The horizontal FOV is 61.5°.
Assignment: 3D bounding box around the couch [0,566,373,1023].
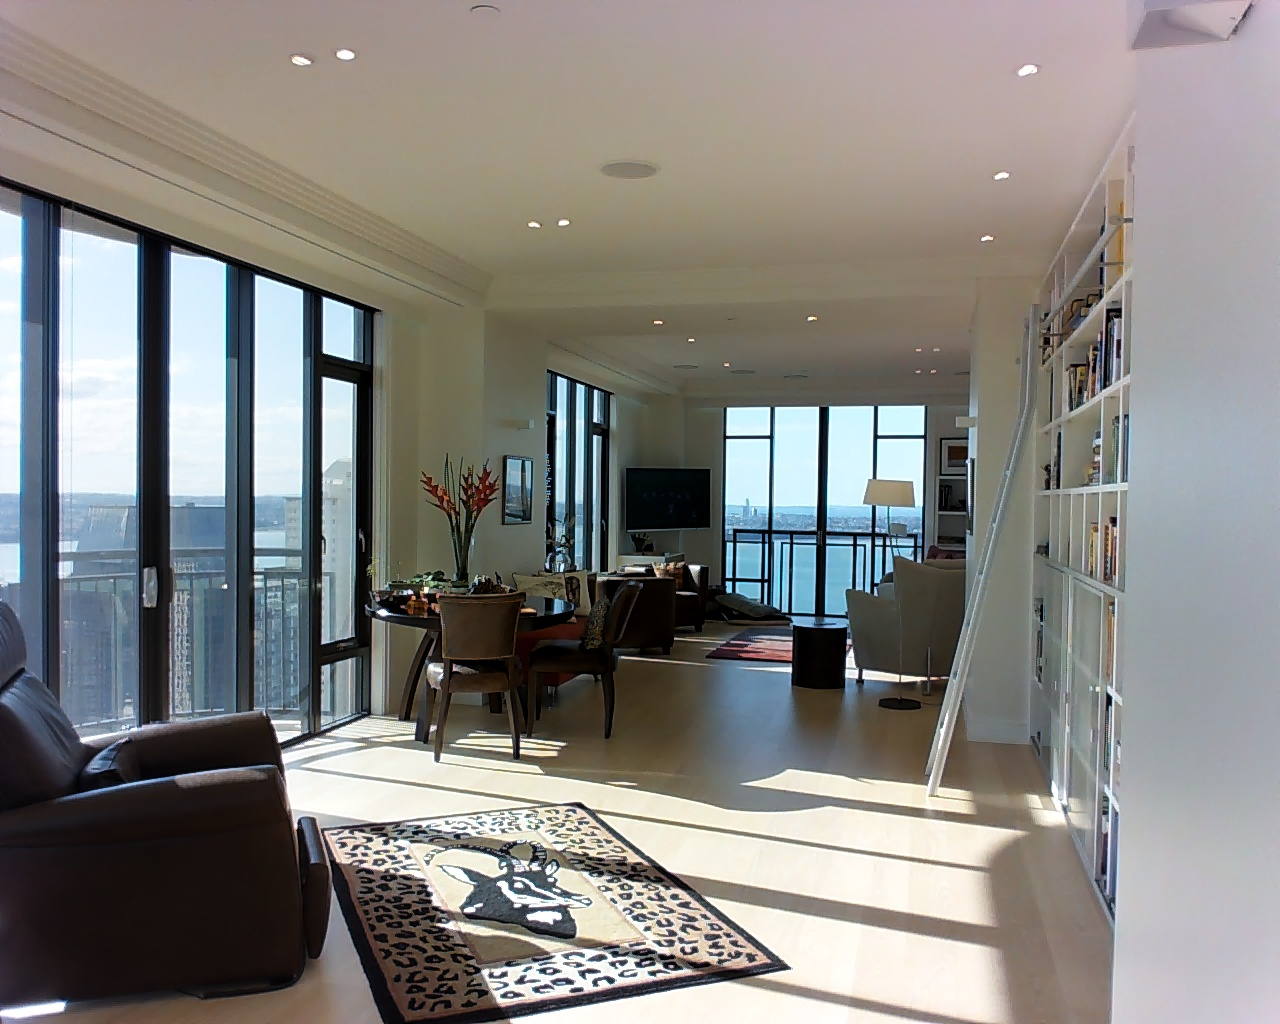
[{"bbox_3d":[-1.440,0.730,3.200,1.110,1.050,1.040,0,2,-22],"label":"couch"}]
